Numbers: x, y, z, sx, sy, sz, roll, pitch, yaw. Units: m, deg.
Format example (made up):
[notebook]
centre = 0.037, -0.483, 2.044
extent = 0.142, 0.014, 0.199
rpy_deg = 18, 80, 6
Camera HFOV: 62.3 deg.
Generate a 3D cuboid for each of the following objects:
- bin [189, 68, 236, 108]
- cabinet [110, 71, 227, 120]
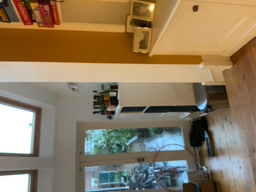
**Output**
[bin]
centre = 1.090, -0.100, 2.770
extent = 0.240, 0.450, 0.470
rpy_deg = 124, 144, -71
[cabinet]
centre = 0.520, 0.030, 3.220
extent = 0.900, 1.490, 0.470
rpy_deg = 121, 147, -70
